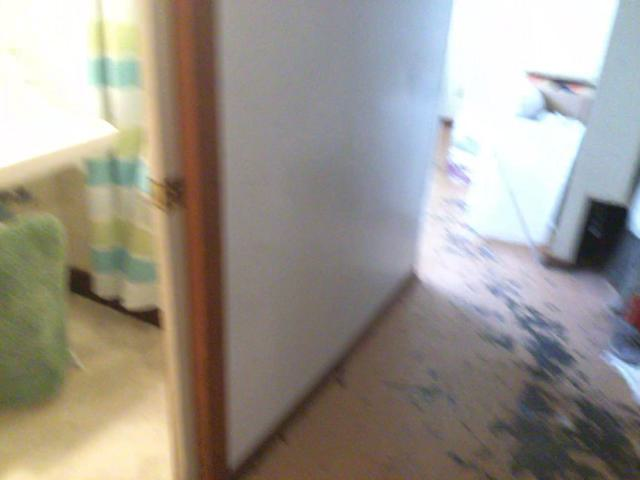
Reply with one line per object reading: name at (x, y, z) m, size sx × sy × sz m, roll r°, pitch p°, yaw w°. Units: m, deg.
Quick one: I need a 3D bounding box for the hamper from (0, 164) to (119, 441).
hamper at (-1.090, 0.190, 1.840) m, size 0.520 × 0.640 × 0.580 m, roll 18°, pitch 32°, yaw 27°

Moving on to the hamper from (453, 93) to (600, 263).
hamper at (1.020, -0.330, 2.880) m, size 0.480 × 0.640 × 0.480 m, roll 18°, pitch 32°, yaw 26°
